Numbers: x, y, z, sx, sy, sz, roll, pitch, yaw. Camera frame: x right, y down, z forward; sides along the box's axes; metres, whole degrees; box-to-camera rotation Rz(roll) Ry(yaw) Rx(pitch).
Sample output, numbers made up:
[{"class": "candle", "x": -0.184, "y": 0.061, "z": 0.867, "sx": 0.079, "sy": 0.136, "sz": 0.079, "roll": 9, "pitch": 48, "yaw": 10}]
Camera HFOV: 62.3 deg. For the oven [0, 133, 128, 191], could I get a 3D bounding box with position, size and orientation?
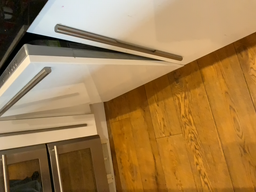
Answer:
[{"class": "oven", "x": -0.550, "y": 0.650, "z": 1.370, "sx": 0.600, "sy": 0.910, "sz": 0.590, "roll": -25, "pitch": 73, "yaw": 41}]
